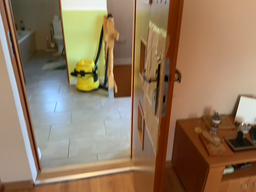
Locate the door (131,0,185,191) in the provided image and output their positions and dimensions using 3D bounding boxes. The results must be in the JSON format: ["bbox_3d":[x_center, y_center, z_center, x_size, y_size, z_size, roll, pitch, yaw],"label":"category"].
[{"bbox_3d":[0.110,-0.120,1.140,0.070,2.130,0.740,0,26,-4],"label":"door"}]

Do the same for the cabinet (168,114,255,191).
[{"bbox_3d":[0.780,0.520,1.710,0.710,0.500,0.530,-3,26,-9],"label":"cabinet"}]
